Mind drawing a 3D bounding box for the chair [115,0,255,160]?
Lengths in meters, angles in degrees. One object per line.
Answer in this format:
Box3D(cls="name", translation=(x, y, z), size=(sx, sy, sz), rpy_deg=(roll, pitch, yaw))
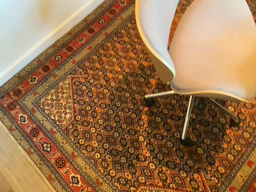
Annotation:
Box3D(cls="chair", translation=(0.370, -0.130, 1.020), size=(0.620, 0.830, 0.590), rpy_deg=(11, 66, 10))
